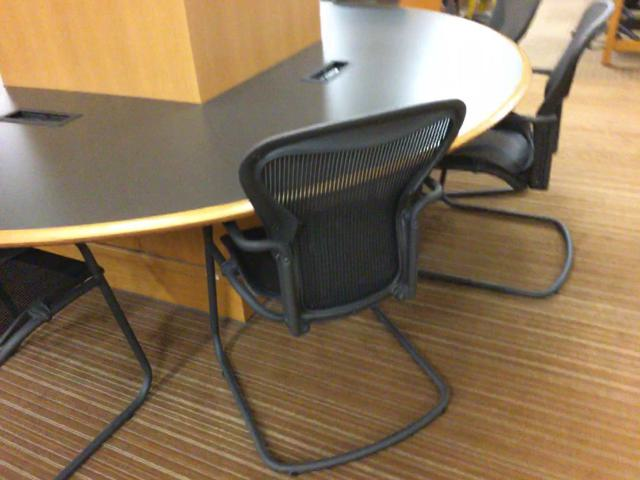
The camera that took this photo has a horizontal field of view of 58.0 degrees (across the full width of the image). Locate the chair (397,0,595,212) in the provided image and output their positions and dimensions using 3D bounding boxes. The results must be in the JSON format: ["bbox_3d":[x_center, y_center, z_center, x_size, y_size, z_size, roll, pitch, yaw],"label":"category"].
[{"bbox_3d":[0.770,-0.770,2.750,0.660,0.970,0.700,-8,32,1],"label":"chair"}]

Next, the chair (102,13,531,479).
[{"bbox_3d":[-0.010,0.050,1.570,0.760,0.990,0.730,-19,36,-12],"label":"chair"}]

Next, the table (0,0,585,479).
[{"bbox_3d":[-0.410,-0.380,2.590,2.600,0.830,2.740,9,39,26],"label":"table"}]

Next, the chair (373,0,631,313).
[{"bbox_3d":[0.660,-0.360,2.060,0.660,0.940,0.640,9,39,26],"label":"chair"}]
